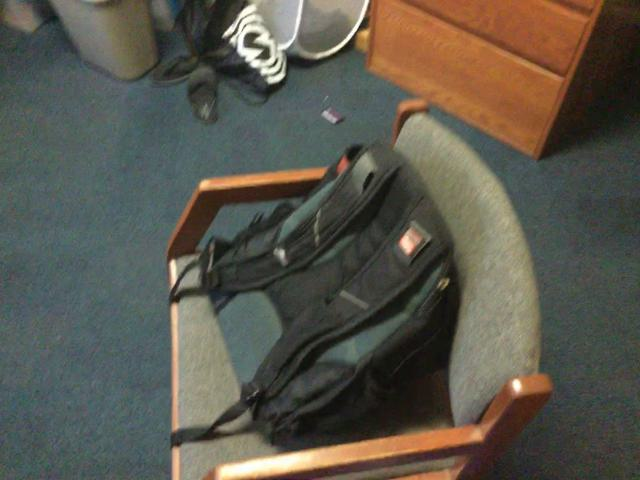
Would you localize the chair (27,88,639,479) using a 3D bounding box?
[{"bbox_3d":[0.040,0.230,1.070,0.710,0.780,0.600,-1,53,-3],"label":"chair"}]

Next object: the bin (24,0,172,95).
[{"bbox_3d":[-0.780,-0.780,2.020,0.370,0.360,0.250,26,58,20],"label":"bin"}]

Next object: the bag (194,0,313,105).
[{"bbox_3d":[-0.240,-0.780,2.060,0.280,0.390,0.340,-28,59,-21],"label":"bag"}]
